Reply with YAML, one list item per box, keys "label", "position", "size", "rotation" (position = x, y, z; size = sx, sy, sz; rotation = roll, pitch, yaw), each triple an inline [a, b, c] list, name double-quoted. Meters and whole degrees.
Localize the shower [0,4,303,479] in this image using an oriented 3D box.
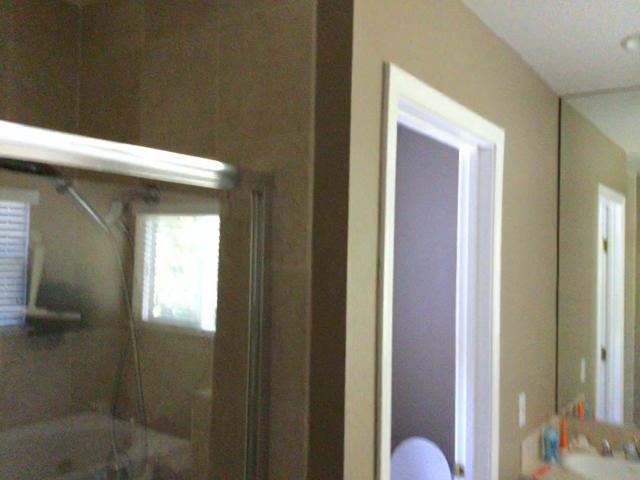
- label: "shower"
  position: [-0.710, 0.660, 1.180]
  size: [0.890, 1.950, 0.970]
  rotation: [-2, -5, 38]
